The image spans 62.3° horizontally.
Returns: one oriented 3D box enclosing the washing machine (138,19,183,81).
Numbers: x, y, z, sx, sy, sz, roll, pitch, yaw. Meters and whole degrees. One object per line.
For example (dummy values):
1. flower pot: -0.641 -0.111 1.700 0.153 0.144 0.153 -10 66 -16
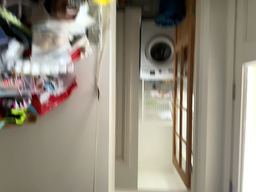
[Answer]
1. washing machine: 0.490 -0.690 3.390 0.630 0.870 0.650 1 -178 4
